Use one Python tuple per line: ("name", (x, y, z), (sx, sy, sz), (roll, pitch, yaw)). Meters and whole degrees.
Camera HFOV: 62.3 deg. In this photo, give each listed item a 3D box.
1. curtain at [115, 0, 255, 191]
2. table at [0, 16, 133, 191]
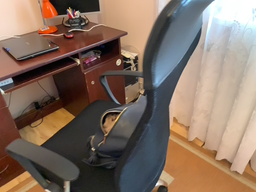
("curtain", (0.430, -0.760, 1.040), (0.250, 2.770, 1.470), (-25, 41, -29))
("table", (-0.670, -0.020, 1.580), (0.710, 0.740, 1.310), (26, 44, 34))
